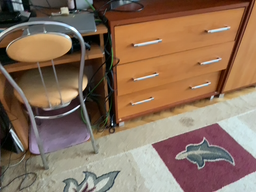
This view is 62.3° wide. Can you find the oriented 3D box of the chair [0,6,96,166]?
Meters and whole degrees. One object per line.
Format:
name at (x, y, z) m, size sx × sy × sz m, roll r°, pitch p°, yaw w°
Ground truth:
chair at (-0.430, -0.030, 1.210) m, size 0.350 × 0.790 × 0.370 m, roll -13°, pitch 41°, yaw -16°
